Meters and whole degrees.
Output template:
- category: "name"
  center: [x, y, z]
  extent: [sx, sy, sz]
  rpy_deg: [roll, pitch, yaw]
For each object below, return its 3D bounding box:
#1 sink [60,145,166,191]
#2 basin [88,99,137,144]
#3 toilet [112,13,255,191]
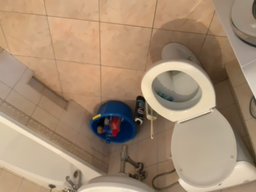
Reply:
- category: "sink"
  center: [-0.090, 0.560, 1.320]
  extent: [0.490, 0.190, 0.420]
  rpy_deg: [-29, 125, 30]
- category: "basin"
  center: [-0.130, 0.240, 1.910]
  extent: [0.320, 0.200, 0.270]
  rpy_deg: [-28, 126, 30]
- category: "toilet"
  center: [0.310, 0.040, 1.220]
  extent: [0.390, 0.810, 0.590]
  rpy_deg: [-30, 125, 31]
